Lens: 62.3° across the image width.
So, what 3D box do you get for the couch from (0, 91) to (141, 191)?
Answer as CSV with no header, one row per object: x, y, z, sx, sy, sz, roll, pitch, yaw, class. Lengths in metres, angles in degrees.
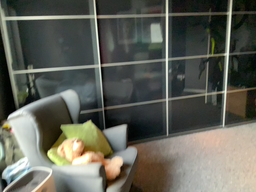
-0.420,0.520,1.970,0.930,0.970,0.780,1,15,13,couch

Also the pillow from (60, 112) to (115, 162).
-0.370,0.380,2.080,0.180,0.420,0.440,40,0,10,pillow
